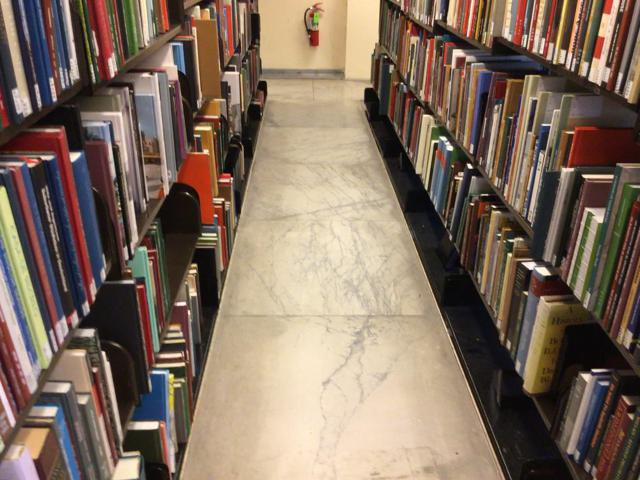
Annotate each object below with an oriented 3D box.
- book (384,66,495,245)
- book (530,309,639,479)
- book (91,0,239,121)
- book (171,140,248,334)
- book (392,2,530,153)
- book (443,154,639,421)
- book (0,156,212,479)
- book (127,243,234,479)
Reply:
[{"bbox_3d":[0.530,-0.540,2.970,0.150,0.410,1.720,-2,26,-2],"label":"book"},{"bbox_3d":[0.620,0.390,1.270,0.140,0.320,0.370,-2,26,-2],"label":"book"},{"bbox_3d":[-0.540,-0.820,2.300,0.310,0.390,1.180,-2,26,-2],"label":"book"},{"bbox_3d":[-0.450,-0.090,2.570,0.150,0.390,1.180,-2,26,-2],"label":"book"},{"bbox_3d":[0.600,-0.860,2.810,0.260,0.460,1.420,-2,26,-2],"label":"book"},{"bbox_3d":[0.600,0.070,1.790,0.190,0.400,0.930,-2,26,-2],"label":"book"},{"bbox_3d":[-0.440,0.200,1.360,0.240,0.650,0.530,-2,26,-2],"label":"book"},{"bbox_3d":[-0.380,0.340,1.720,0.150,0.410,0.660,-2,26,-2],"label":"book"}]
